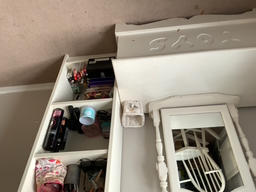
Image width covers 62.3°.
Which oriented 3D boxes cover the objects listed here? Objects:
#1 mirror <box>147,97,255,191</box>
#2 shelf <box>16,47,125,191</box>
[{"bbox_3d":[0.390,0.280,1.180,0.530,0.570,0.120,-4,139,4],"label":"mirror"},{"bbox_3d":[-0.250,0.160,1.270,0.440,1.050,0.270,-5,139,5],"label":"shelf"}]
